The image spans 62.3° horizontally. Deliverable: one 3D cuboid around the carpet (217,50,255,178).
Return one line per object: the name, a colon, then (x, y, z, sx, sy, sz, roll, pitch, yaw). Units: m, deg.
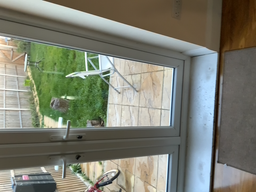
carpet: (0.850, 0.110, 1.440, 0.480, 0.020, 0.850, 2, 88, 57)

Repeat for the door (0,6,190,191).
door: (-0.430, 0.260, 1.310, 0.100, 2.240, 1.430, -5, 81, 57)
